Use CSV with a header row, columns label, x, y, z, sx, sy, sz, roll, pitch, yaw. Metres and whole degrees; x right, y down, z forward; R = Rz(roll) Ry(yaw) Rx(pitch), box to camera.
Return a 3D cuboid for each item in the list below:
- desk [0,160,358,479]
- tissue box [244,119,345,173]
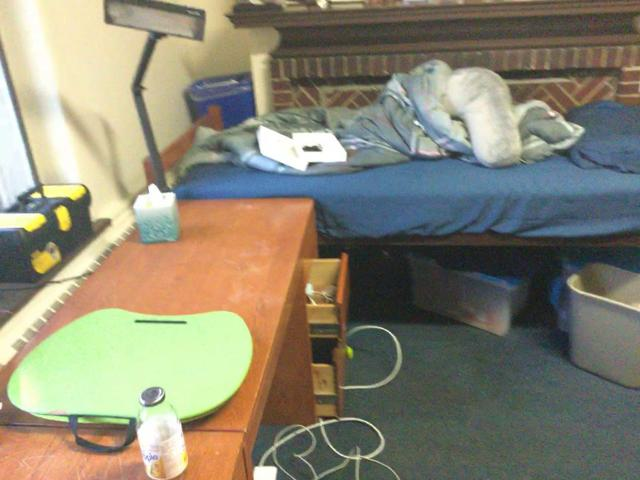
label,x,y,z,sx,sy,sz,roll,pitch,yaw
desk,-0.400,0.380,1.770,0.870,0.860,1.280,-1,25,10
tissue box,-0.090,-0.380,2.310,0.340,0.110,0.320,-1,25,10
